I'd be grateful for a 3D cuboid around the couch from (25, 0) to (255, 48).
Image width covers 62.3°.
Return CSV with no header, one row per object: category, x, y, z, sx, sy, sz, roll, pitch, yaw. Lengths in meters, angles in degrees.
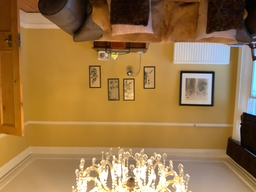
couch,0.440,-1.040,2.210,2.510,0.900,1.090,1,-173,-1
